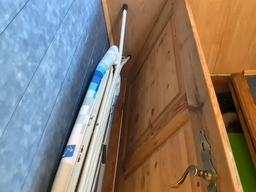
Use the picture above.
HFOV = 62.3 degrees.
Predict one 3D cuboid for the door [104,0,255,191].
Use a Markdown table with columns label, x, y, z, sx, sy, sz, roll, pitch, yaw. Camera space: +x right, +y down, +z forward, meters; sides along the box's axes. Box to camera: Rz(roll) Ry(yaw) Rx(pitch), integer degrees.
| label | x | y | z | sx | sy | sz | roll | pitch | yaw |
| --- | --- | --- | --- | --- | --- | --- | --- | --- | --- |
| door | 0.090 | 0.340 | 0.870 | 0.090 | 2.150 | 0.950 | 19 | 137 | -15 |
